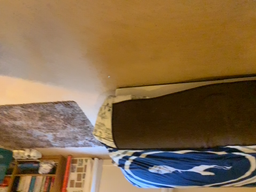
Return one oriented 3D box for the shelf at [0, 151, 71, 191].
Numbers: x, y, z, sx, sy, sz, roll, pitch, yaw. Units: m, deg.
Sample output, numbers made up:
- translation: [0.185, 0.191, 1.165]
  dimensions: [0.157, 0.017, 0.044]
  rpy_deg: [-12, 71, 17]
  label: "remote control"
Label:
- translation: [-1.740, 1.540, 3.600]
  dimensions: [1.280, 1.070, 0.330]
  rpy_deg: [-5, 145, 12]
  label: "shelf"
